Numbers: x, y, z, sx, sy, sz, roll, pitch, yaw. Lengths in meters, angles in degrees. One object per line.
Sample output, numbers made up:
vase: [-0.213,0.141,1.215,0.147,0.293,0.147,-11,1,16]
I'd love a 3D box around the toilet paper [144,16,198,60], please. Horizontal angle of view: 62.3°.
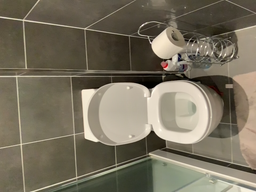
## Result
toilet paper: [0.220,-0.280,1.070,0.130,0.250,0.160,-2,92,51]
